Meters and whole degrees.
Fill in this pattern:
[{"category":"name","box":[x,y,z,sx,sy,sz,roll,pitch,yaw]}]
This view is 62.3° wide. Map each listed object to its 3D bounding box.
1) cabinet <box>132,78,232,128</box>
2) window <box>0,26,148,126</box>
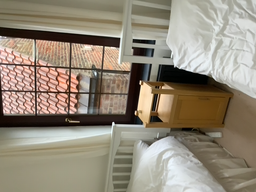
[{"category":"cabinet","box":[0.510,0.070,2.080,0.340,0.840,0.370,-130,45,-66]},{"category":"window","box":[-0.620,-0.140,2.250,0.080,1.590,0.980,-127,43,-64]}]
